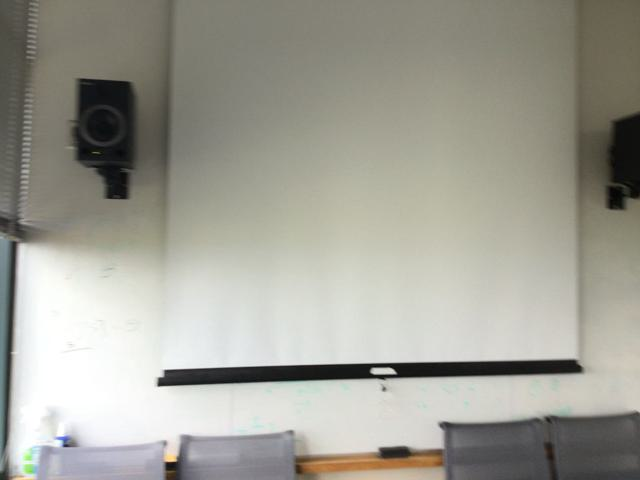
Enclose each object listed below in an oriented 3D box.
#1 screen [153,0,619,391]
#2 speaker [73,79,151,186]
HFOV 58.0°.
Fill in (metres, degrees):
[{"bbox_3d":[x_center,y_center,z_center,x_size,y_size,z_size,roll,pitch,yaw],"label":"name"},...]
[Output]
[{"bbox_3d":[0.270,-0.280,2.360,1.830,1.670,0.130,-1,-4,-6],"label":"screen"},{"bbox_3d":[-0.750,-0.380,2.120,0.190,0.310,0.340,-1,-4,-6],"label":"speaker"}]
